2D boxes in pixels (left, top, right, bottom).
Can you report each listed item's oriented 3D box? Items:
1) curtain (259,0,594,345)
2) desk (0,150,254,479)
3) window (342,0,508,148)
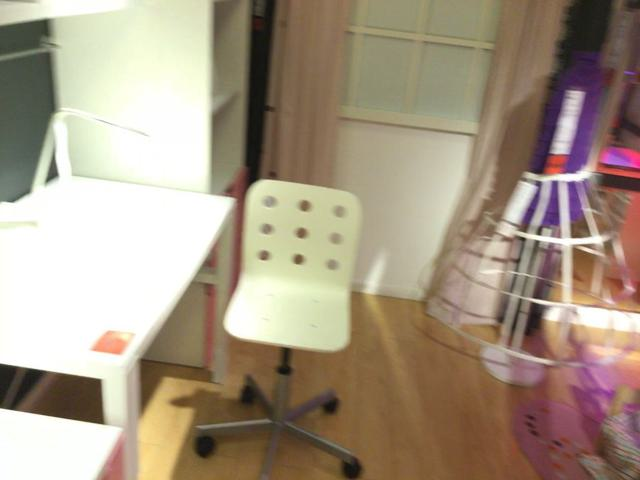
[{"bbox_3d":[0.390,-0.650,2.360,1.160,2.160,0.300,6,21,4],"label":"curtain"},{"bbox_3d":[-0.630,0.260,1.680,0.640,0.770,1.050,6,21,4],"label":"desk"},{"bbox_3d":[0.420,-0.860,2.290,0.580,0.930,0.100,6,21,4],"label":"window"}]
